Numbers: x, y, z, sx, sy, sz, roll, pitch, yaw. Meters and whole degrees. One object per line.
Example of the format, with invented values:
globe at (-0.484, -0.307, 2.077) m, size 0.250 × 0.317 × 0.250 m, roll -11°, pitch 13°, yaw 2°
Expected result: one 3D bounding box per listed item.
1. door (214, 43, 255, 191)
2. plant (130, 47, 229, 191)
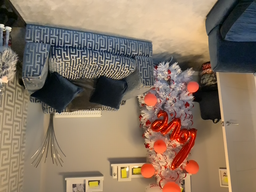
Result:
door at (1.490, 0.350, 2.710) m, size 0.820 × 2.000 × 0.040 m, roll 5°, pitch 168°, yaw -28°
plant at (0.650, 0.490, 3.130) m, size 1.040 × 2.110 × 0.920 m, roll 1°, pitch 169°, yaw -10°
